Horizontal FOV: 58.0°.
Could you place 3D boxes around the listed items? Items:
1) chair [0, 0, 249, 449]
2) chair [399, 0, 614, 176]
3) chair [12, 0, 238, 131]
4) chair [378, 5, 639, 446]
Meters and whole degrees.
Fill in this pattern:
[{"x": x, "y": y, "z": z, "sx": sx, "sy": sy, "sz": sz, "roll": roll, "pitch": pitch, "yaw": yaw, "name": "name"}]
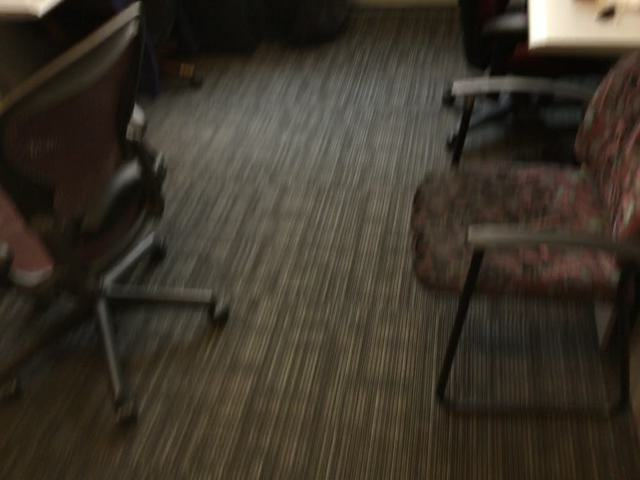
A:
[{"x": -0.690, "y": -0.100, "z": 1.540, "sx": 0.620, "sy": 0.960, "sz": 0.690, "roll": 13, "pitch": 42, "yaw": 20, "name": "chair"}, {"x": 0.710, "y": -0.840, "z": 2.160, "sx": 0.590, "sy": 0.910, "sz": 0.580, "roll": 21, "pitch": 46, "yaw": 28, "name": "chair"}, {"x": -0.870, "y": -1.130, "z": 2.580, "sx": 0.690, "sy": 1.060, "sz": 0.630, "roll": 5, "pitch": 40, "yaw": 11, "name": "chair"}, {"x": 0.470, "y": -0.050, "z": 1.360, "sx": 0.590, "sy": 0.780, "sz": 0.620, "roll": 5, "pitch": 40, "yaw": 11, "name": "chair"}]
